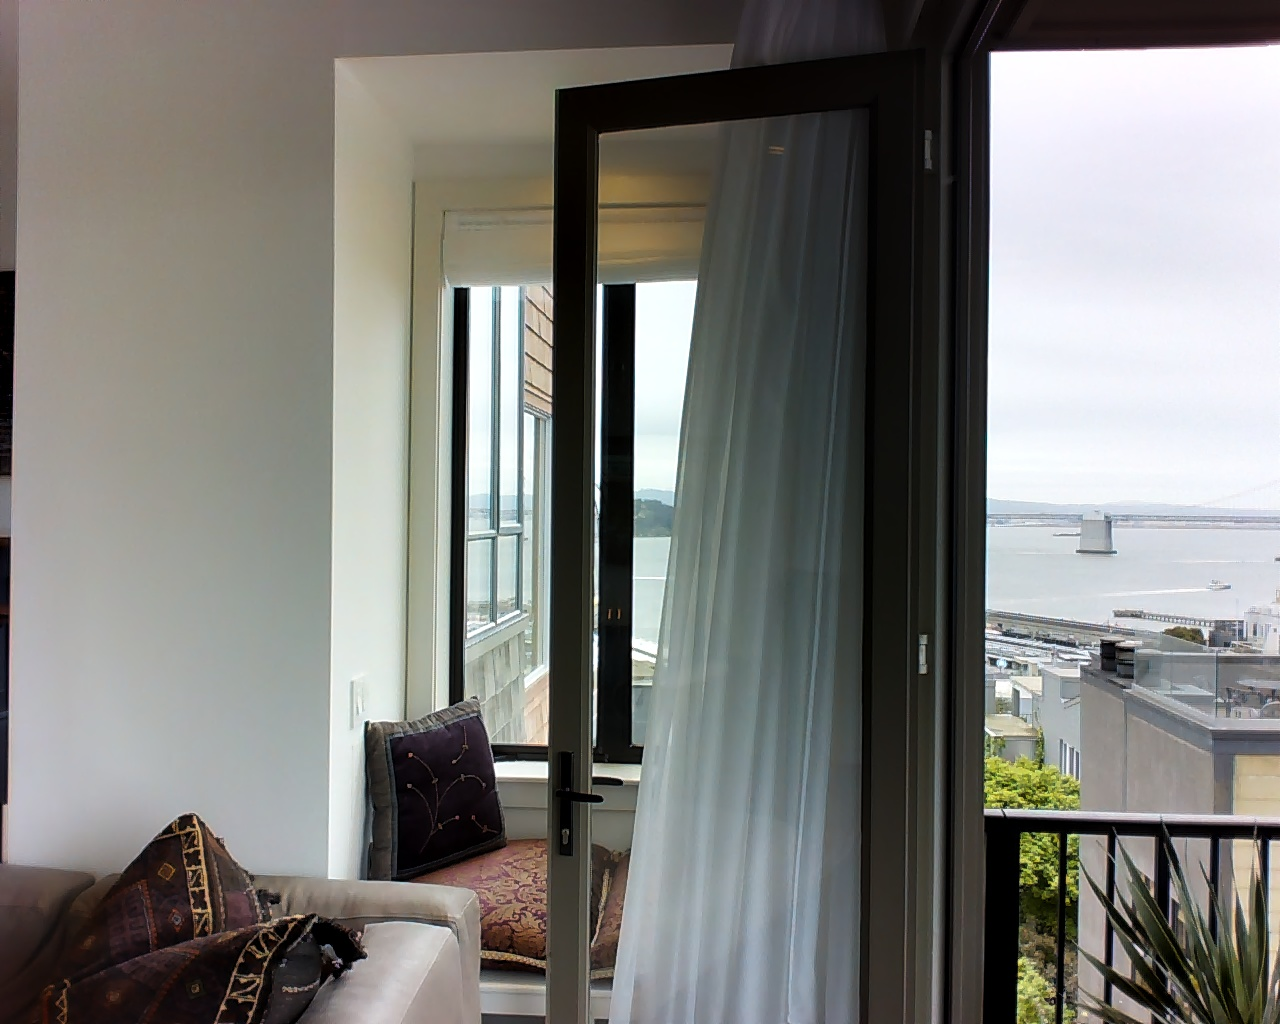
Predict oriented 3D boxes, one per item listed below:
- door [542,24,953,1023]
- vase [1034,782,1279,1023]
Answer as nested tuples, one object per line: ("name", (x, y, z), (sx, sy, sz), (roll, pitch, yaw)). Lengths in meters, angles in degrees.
("door", (0.230, 0.280, 2.370), (0.850, 2.500, 0.230), (1, 0, 18))
("vase", (1.110, 1.080, 2.060), (0.550, 0.990, 0.480), (1, 0, 4))
